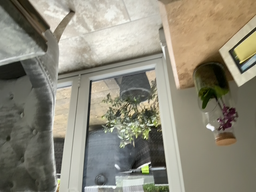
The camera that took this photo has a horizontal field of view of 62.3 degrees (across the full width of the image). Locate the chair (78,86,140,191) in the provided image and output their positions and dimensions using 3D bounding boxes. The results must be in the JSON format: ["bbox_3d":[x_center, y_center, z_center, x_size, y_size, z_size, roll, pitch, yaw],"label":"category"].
[{"bbox_3d":[-0.160,0.510,2.240,0.470,1.050,0.560,-6,151,7],"label":"chair"}]

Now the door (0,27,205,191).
[{"bbox_3d":[-1.030,0.660,1.520,2.990,2.120,0.100,-10,150,14],"label":"door"}]
